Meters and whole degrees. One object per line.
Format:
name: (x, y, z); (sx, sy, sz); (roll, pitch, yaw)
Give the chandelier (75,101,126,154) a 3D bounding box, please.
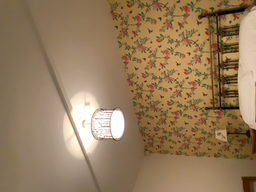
chandelier: (-0.270, 0.310, 2.200); (0.340, 0.360, 0.440); (-33, 119, -65)
